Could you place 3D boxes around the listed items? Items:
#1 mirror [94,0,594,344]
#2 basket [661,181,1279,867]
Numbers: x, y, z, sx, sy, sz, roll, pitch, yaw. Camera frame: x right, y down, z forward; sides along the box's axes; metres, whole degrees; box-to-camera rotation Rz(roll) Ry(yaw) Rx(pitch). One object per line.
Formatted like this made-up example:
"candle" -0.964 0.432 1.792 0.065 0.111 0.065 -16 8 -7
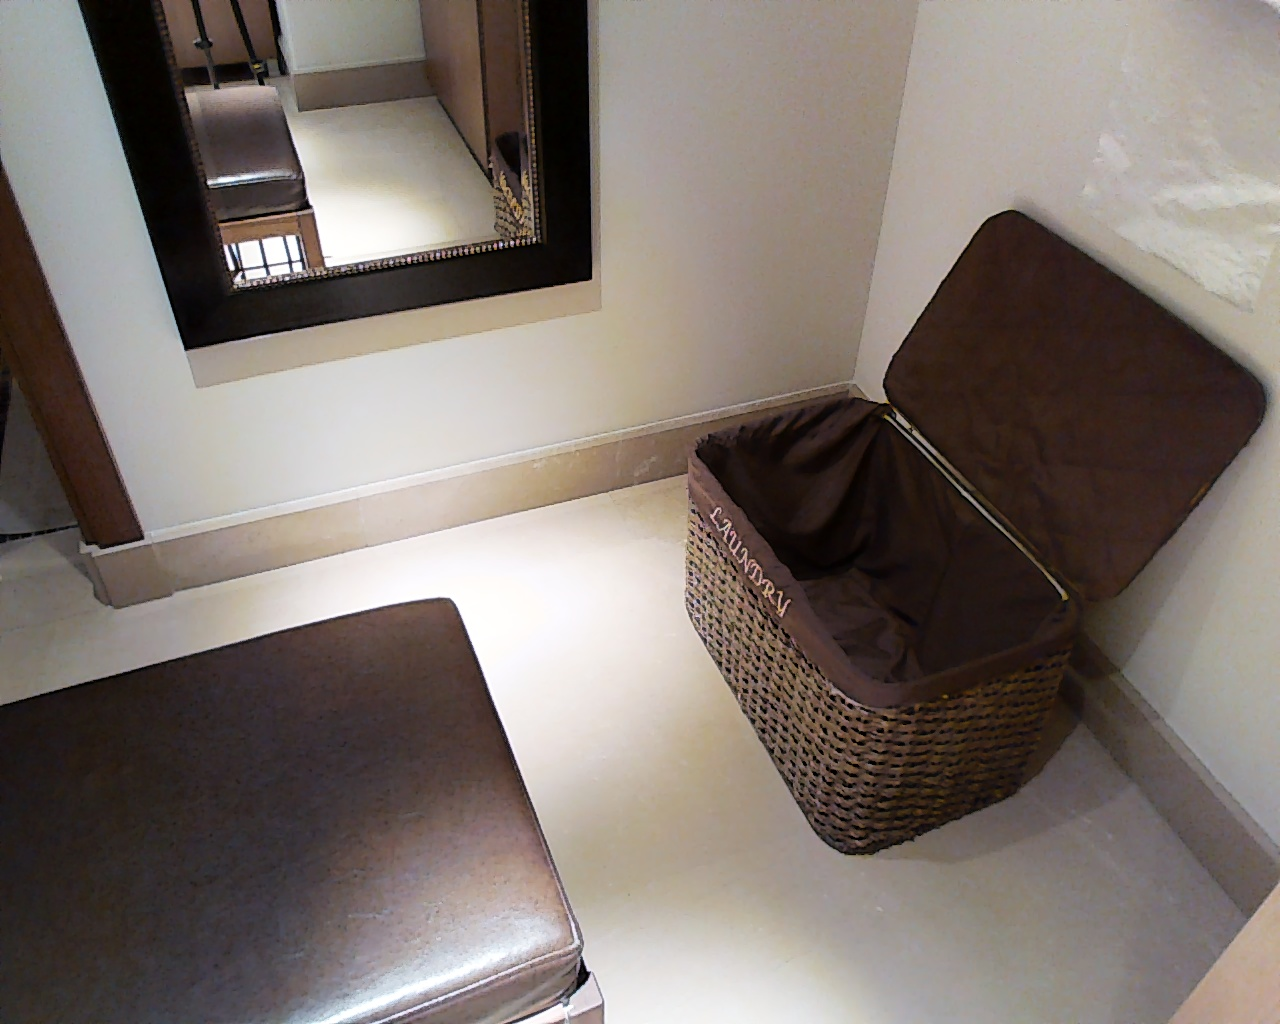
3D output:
"mirror" -0.430 -0.950 1.510 0.730 1.480 0.060 -14 43 -16
"basket" 0.470 0.000 1.860 0.630 0.800 0.710 -13 44 -16
